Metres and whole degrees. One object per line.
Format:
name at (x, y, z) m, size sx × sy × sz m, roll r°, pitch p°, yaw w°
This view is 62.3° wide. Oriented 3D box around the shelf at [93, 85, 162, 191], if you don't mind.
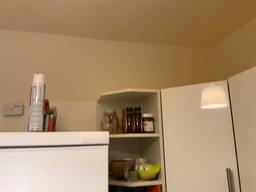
shelf at (-0.030, 0.340, 1.180) m, size 0.290 × 0.720 × 0.380 m, roll 2°, pitch -12°, yaw -14°
